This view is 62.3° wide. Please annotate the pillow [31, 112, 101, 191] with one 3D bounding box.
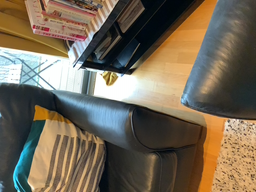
[{"bbox_3d":[-0.300,0.350,1.060,0.210,0.290,0.470,8,97,7],"label":"pillow"}]
